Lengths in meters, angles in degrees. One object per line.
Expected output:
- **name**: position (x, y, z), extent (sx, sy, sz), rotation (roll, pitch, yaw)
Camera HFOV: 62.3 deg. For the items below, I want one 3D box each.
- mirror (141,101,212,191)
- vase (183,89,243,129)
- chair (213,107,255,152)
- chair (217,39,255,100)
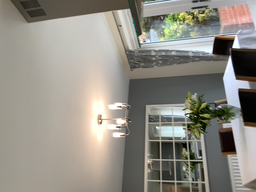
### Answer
- **mirror**: position (0.790, 1.020, 3.620), extent (0.160, 1.080, 1.990), rotation (67, -156, -59)
- **vase**: position (0.970, 0.160, 2.520), extent (0.310, 0.590, 0.360), rotation (68, -157, -58)
- **chair**: position (1.570, 0.420, 2.520), extent (0.620, 0.920, 0.400), rotation (60, -150, -65)
- **chair**: position (1.480, -0.270, 2.200), extent (0.540, 0.910, 0.400), rotation (65, -154, -61)
